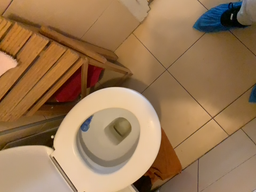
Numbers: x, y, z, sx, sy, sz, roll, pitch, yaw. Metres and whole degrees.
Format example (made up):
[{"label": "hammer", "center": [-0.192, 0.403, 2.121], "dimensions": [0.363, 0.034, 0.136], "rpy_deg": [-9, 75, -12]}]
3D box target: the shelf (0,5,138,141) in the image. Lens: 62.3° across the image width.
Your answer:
[{"label": "shelf", "center": [-0.240, -0.050, 0.860], "dimensions": [0.130, 0.870, 0.360], "rpy_deg": [46, 105, 10]}]
